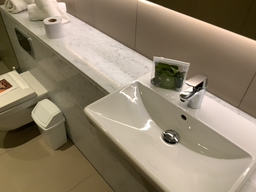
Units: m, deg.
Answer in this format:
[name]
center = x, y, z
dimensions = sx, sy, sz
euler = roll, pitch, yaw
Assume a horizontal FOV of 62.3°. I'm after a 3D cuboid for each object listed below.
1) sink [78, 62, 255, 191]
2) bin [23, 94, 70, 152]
[sink]
center = 0.170, 0.130, 0.840
dimensions = 0.480, 0.150, 0.560
euler = -31, 51, -32
[bin]
center = -0.620, 0.210, 1.640
dimensions = 0.190, 0.350, 0.220
euler = -31, 51, -32
